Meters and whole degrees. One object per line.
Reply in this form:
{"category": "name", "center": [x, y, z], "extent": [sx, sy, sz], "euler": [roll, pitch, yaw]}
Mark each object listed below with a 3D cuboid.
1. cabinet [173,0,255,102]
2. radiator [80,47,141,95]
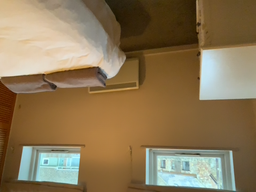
{"category": "cabinet", "center": [0.640, -0.500, 1.450], "extent": [0.530, 0.860, 0.940], "euler": [-4, 163, 19]}
{"category": "radiator", "center": [-0.220, -0.310, 2.710], "extent": [0.750, 0.520, 0.140], "euler": [-4, 163, 19]}
